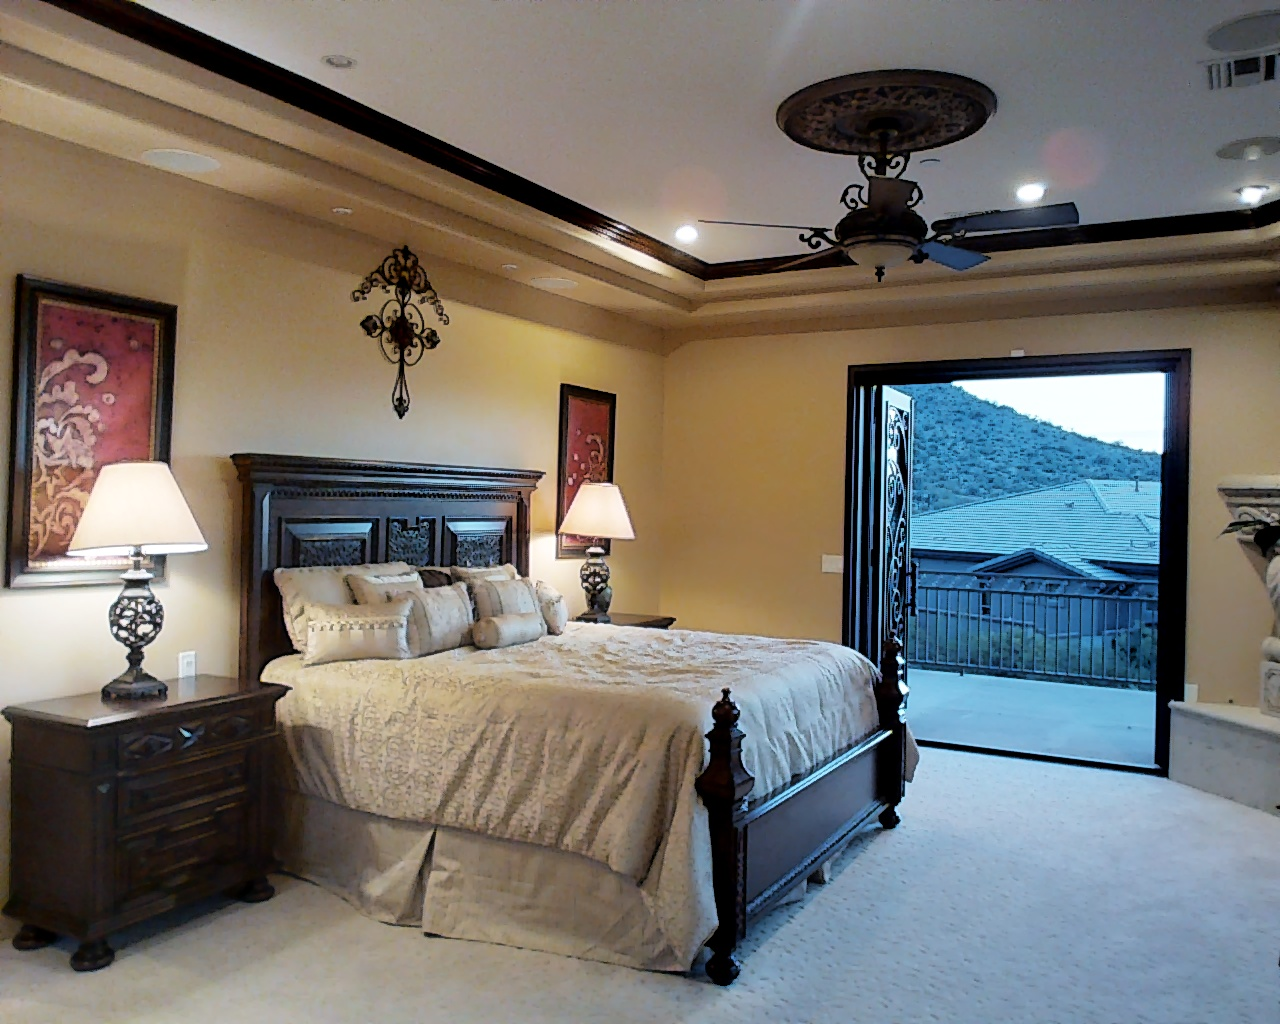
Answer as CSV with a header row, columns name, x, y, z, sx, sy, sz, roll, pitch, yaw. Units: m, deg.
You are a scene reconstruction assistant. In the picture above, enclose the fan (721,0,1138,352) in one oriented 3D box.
name,x,y,z,sx,sy,sz,roll,pitch,yaw
fan,1.020,-1.200,4.100,1.240,0.590,1.020,-22,-2,7
